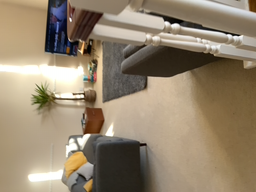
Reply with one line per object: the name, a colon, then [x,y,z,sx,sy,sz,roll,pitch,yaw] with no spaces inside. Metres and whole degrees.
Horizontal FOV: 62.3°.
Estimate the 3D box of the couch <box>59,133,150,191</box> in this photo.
couch: [-0.570,1.140,3.490,2.330,0.770,0.930,165,106,-64]
